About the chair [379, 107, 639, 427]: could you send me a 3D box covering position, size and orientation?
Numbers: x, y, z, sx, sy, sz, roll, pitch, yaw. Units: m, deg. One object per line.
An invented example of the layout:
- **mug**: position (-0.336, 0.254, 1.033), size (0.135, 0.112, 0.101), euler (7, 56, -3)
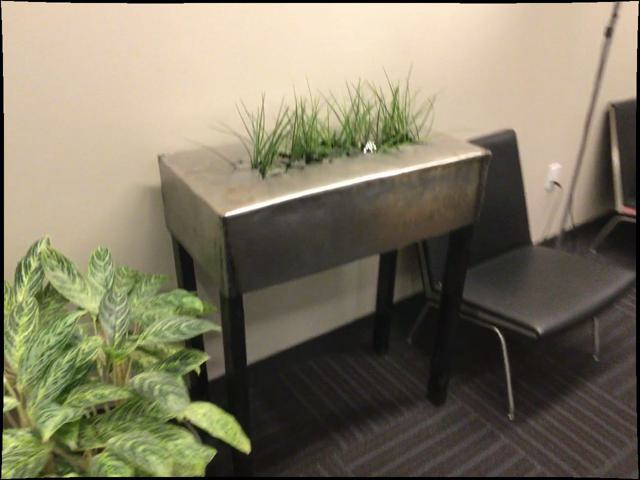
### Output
- **chair**: position (0.688, 0.040, 2.050), size (0.639, 0.731, 0.690), euler (-22, 37, -29)

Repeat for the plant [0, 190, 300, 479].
- **plant**: position (-0.549, 0.481, 1.290), size (0.679, 0.781, 0.810), euler (-22, 37, -29)
